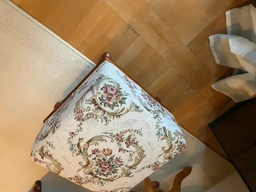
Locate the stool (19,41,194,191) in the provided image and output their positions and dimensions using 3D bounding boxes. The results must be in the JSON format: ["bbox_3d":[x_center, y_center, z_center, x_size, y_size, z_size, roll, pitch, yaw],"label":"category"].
[{"bbox_3d":[-0.080,0.120,0.870,0.420,0.350,0.420,-42,117,18],"label":"stool"}]
